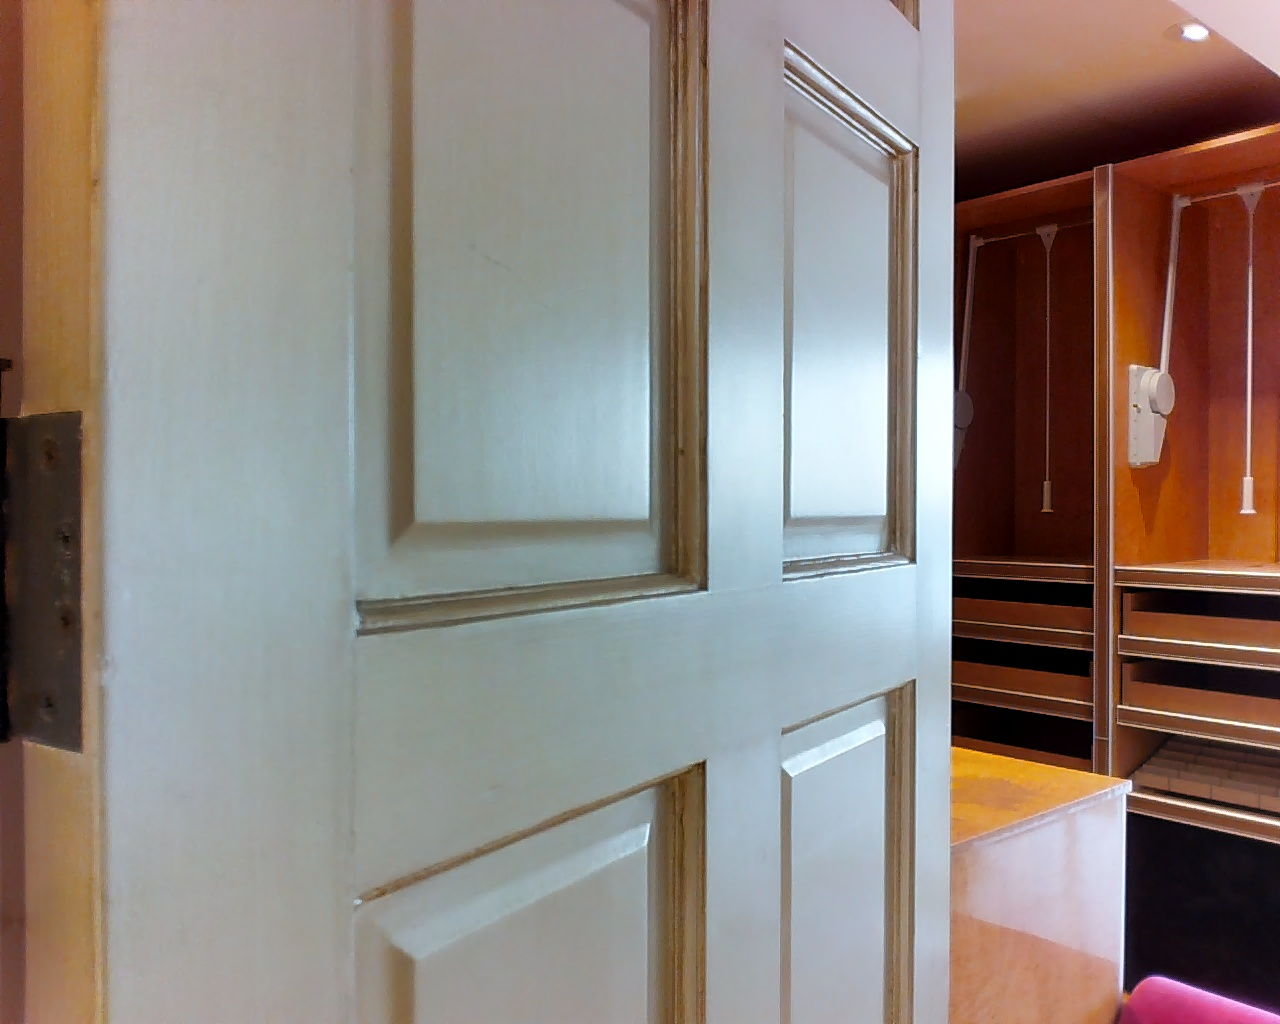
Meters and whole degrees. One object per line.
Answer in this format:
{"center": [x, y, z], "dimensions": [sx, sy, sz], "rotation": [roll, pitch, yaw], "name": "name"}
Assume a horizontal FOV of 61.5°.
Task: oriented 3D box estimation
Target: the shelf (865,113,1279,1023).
{"center": [1.519, 0.250, 3.230], "dimensions": [0.730, 2.451, 1.520], "rotation": [-1, 1, -41], "name": "shelf"}
